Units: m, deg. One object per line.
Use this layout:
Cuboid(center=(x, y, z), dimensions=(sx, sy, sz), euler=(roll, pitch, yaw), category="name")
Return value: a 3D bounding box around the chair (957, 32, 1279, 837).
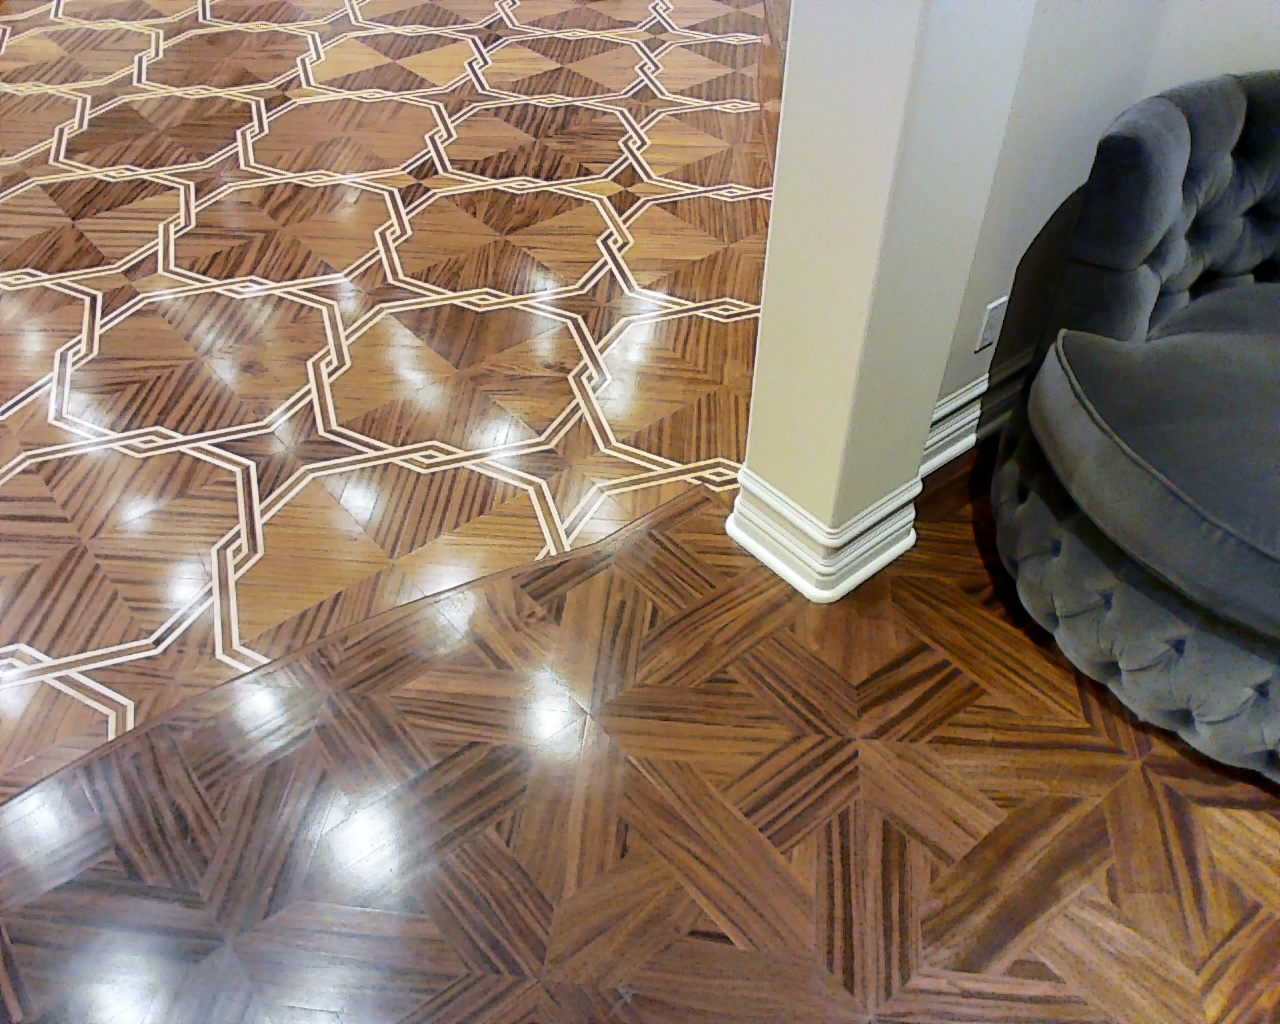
Cuboid(center=(1.430, -0.180, 2.010), dimensions=(1.330, 0.900, 1.280), euler=(4, 43, 4), category="chair")
